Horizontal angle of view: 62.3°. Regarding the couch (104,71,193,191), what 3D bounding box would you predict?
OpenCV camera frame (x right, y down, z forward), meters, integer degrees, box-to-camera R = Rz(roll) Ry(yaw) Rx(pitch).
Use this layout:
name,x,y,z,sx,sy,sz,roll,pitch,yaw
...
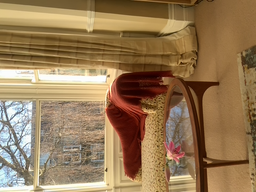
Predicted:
name,x,y,z,sx,sy,sz,roll,pitch,yaw
couch,0.180,0.600,2.480,0.710,0.820,1.620,152,118,-75
